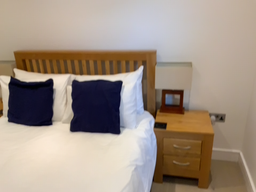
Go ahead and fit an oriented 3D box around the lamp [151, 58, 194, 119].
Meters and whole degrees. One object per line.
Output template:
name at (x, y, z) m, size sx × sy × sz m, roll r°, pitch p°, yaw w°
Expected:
lamp at (0.400, -0.070, 1.940) m, size 0.350 × 0.500 × 0.190 m, roll 5°, pitch 23°, yaw 16°
